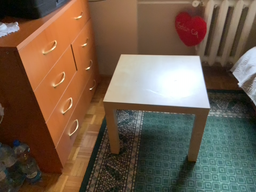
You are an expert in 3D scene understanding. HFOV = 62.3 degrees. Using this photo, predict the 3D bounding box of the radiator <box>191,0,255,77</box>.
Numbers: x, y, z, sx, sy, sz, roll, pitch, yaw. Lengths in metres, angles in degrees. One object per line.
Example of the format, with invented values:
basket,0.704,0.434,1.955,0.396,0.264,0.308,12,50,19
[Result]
radiator,0.860,-0.510,1.910,0.460,0.650,0.200,3,38,7
